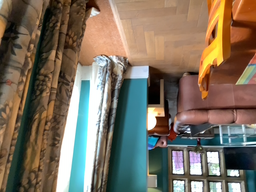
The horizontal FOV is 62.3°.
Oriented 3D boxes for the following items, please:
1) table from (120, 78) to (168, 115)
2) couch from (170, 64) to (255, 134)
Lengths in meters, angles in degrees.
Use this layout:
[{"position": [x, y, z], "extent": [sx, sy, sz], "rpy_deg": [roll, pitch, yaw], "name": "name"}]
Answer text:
[{"position": [0.270, 0.020, 3.380], "extent": [0.700, 0.450, 0.500], "rpy_deg": [-1, 162, 9], "name": "table"}, {"position": [1.330, 0.100, 2.990], "extent": [1.430, 0.720, 0.970], "rpy_deg": [-1, 162, 10], "name": "couch"}]
